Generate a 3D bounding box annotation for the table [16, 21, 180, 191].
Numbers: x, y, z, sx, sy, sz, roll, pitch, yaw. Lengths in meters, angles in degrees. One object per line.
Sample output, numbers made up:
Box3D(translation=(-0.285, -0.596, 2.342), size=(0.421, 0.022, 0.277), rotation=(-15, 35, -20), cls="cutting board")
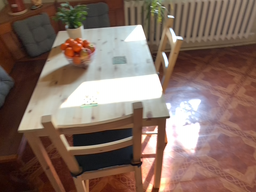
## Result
Box3D(translation=(-0.180, 0.020, 1.730), size=(0.770, 0.740, 1.300), rotation=(-5, 40, -3), cls="table")
